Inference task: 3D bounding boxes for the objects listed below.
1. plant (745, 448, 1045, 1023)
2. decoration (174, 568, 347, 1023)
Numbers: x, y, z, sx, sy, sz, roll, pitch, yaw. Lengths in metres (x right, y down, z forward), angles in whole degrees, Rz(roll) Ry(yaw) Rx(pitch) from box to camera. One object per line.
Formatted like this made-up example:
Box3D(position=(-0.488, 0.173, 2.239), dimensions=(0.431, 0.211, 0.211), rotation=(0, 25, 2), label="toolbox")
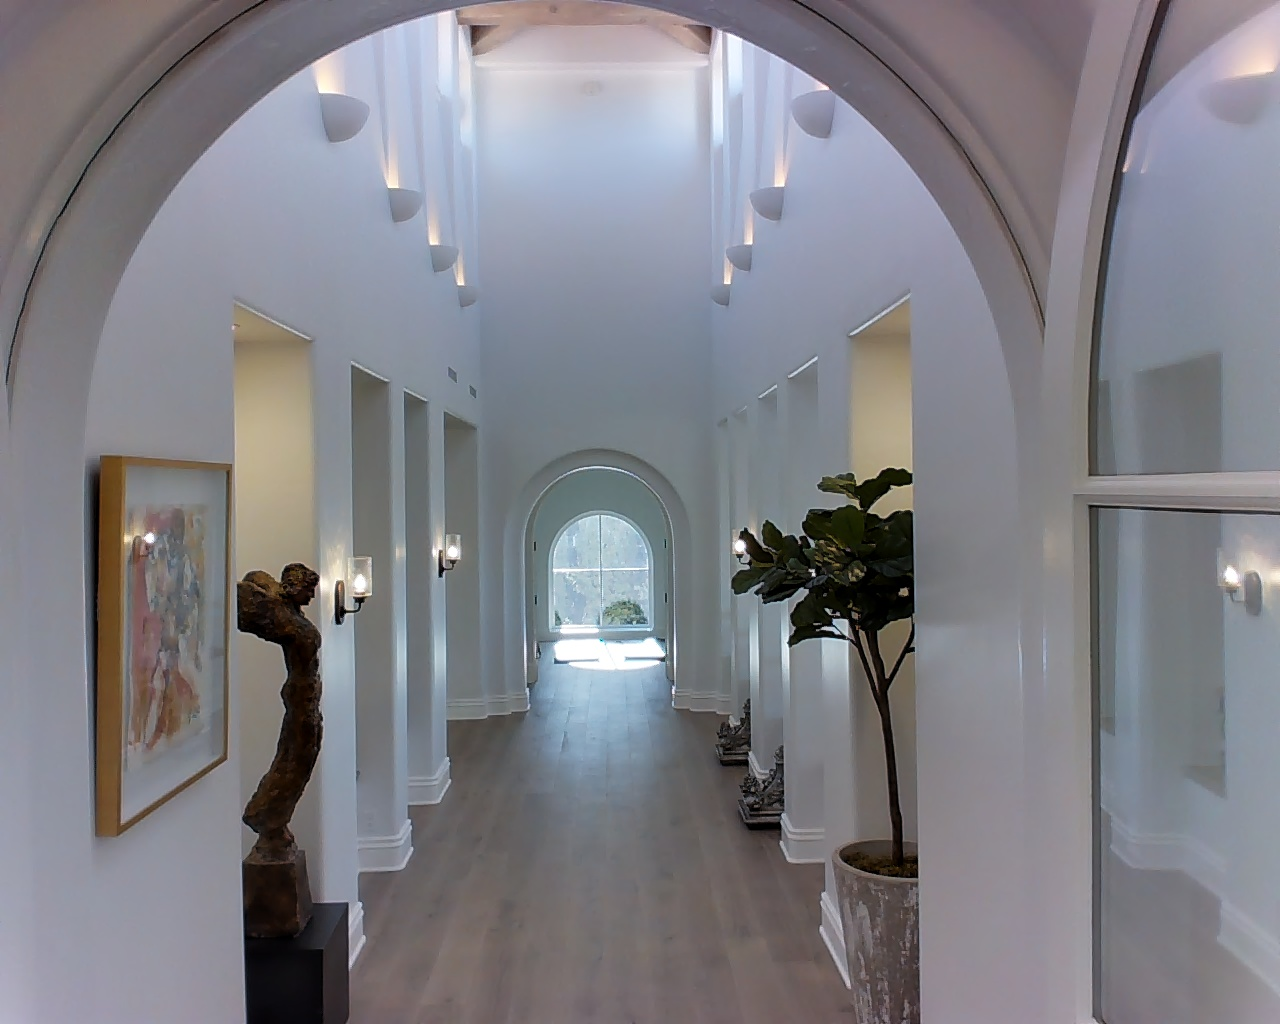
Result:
Box3D(position=(0.900, 0.940, 4.070), dimensions=(0.850, 2.291, 1.040), rotation=(-1, 0, 0), label="plant")
Box3D(position=(-1.390, 1.170, 4.000), dimensions=(0.430, 1.881, 0.540), rotation=(-1, 0, -2), label="decoration")
